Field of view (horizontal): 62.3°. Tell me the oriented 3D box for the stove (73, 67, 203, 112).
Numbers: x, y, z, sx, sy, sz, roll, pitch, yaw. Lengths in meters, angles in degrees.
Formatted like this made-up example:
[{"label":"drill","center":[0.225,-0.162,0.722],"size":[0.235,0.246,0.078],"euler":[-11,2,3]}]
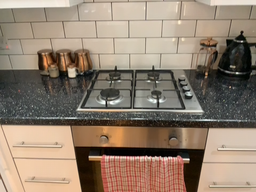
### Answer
[{"label":"stove","center":[0.050,-0.060,1.160],"size":[0.570,0.020,0.500],"euler":[1,28,2]}]
